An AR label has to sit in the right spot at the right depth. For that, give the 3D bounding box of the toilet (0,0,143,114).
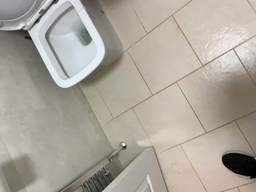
[{"bbox_3d":[-0.390,-0.320,1.040,0.420,0.840,0.590,-33,83,25],"label":"toilet"}]
